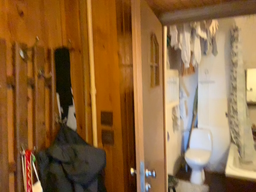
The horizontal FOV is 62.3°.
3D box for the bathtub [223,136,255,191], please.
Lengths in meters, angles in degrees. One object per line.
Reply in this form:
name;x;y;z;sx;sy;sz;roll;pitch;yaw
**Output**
bathtub;1.700;1.050;2.830;0.690;0.580;1.400;2;7;28
